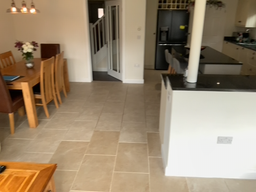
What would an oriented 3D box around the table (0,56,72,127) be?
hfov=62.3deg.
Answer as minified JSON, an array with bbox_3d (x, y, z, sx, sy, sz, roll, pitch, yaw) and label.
[{"bbox_3d":[-1.830,-0.220,4.080,0.880,0.760,1.860,2,21,3],"label":"table"}]
